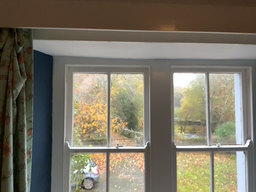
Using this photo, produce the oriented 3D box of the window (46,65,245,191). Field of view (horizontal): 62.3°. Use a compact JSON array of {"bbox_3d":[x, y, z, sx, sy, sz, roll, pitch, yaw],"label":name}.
[{"bbox_3d":[0.160,0.430,1.680,1.490,1.280,0.210,1,-3,-7],"label":"window"}]
